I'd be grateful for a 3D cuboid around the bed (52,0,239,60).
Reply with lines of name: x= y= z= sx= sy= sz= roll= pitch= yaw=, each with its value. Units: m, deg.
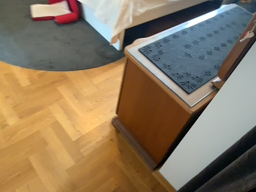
bed: x=0.130 y=-1.560 z=2.670 sx=2.110 sy=0.600 sz=1.830 roll=-26 pitch=61 yaw=-28
